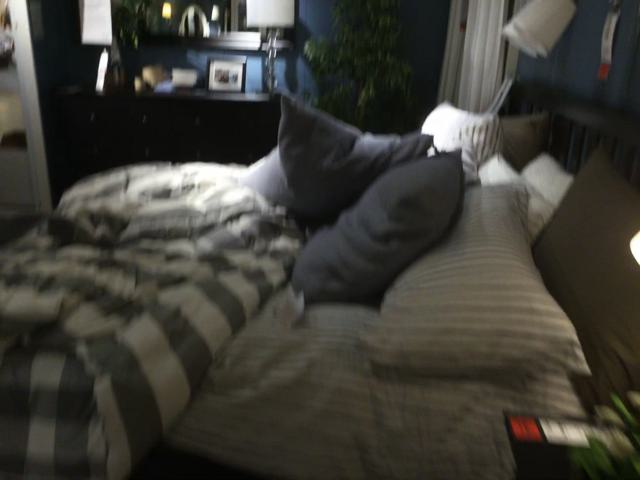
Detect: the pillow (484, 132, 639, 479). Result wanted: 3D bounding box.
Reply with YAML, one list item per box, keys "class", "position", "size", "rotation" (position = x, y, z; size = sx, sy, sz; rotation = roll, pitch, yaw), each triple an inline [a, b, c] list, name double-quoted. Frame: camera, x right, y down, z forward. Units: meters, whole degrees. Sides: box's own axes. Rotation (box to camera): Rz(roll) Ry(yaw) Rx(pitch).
- class: "pillow"
  position: [0.750, 0.090, 1.510]
  size: [0.350, 0.570, 0.970]
  rotation: [2, 20, 1]

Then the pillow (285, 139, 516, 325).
- class: "pillow"
  position: [0.200, -0.060, 1.750]
  size: [0.560, 0.370, 0.600]
  rotation: [2, 20, 1]

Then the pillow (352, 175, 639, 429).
- class: "pillow"
  position: [0.420, 0.090, 1.530]
  size: [0.640, 0.320, 0.830]
  rotation: [2, 20, 1]

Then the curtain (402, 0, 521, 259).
- class: "curtain"
  position: [0.800, -0.870, 3.510]
  size: [0.390, 1.700, 1.020]
  rotation: [2, 20, 1]

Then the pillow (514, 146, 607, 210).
- class: "pillow"
  position: [0.830, -0.230, 2.040]
  size: [0.150, 0.110, 0.470]
  rotation: [1, 20, 3]

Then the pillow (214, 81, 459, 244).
- class: "pillow"
  position: [0.050, -0.290, 1.990]
  size: [0.710, 0.440, 0.510]
  rotation: [2, 20, 1]

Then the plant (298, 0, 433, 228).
- class: "plant"
  position: [0.270, -0.990, 3.900]
  size: [0.780, 1.660, 0.680]
  rotation: [2, 20, 1]
